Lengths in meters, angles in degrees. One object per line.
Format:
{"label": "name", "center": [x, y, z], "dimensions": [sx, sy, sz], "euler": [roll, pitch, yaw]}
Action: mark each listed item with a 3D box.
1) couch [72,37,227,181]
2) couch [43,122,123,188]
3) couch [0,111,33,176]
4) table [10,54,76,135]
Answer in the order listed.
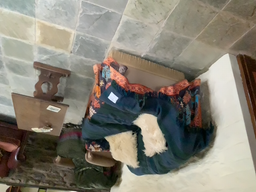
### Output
{"label": "couch", "center": [0.060, 0.320, 2.250], "dimensions": [0.970, 0.860, 1.450], "euler": [13, 150, -15]}
{"label": "couch", "center": [-0.720, 1.080, 3.720], "dimensions": [0.820, 0.860, 0.970], "euler": [-12, 147, 26]}
{"label": "couch", "center": [-2.100, 0.780, 3.420], "dimensions": [0.690, 0.800, 0.840], "euler": [21, 146, -27]}
{"label": "table", "center": [-0.890, 0.040, 2.280], "dimensions": [0.470, 0.450, 0.830], "euler": [13, 150, -15]}
